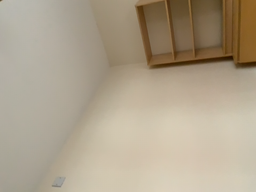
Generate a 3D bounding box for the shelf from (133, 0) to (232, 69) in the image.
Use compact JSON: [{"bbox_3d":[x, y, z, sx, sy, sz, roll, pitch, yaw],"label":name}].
[{"bbox_3d":[0.690,-0.830,2.690,0.310,1.070,0.830,-71,-28,-50],"label":"shelf"}]
